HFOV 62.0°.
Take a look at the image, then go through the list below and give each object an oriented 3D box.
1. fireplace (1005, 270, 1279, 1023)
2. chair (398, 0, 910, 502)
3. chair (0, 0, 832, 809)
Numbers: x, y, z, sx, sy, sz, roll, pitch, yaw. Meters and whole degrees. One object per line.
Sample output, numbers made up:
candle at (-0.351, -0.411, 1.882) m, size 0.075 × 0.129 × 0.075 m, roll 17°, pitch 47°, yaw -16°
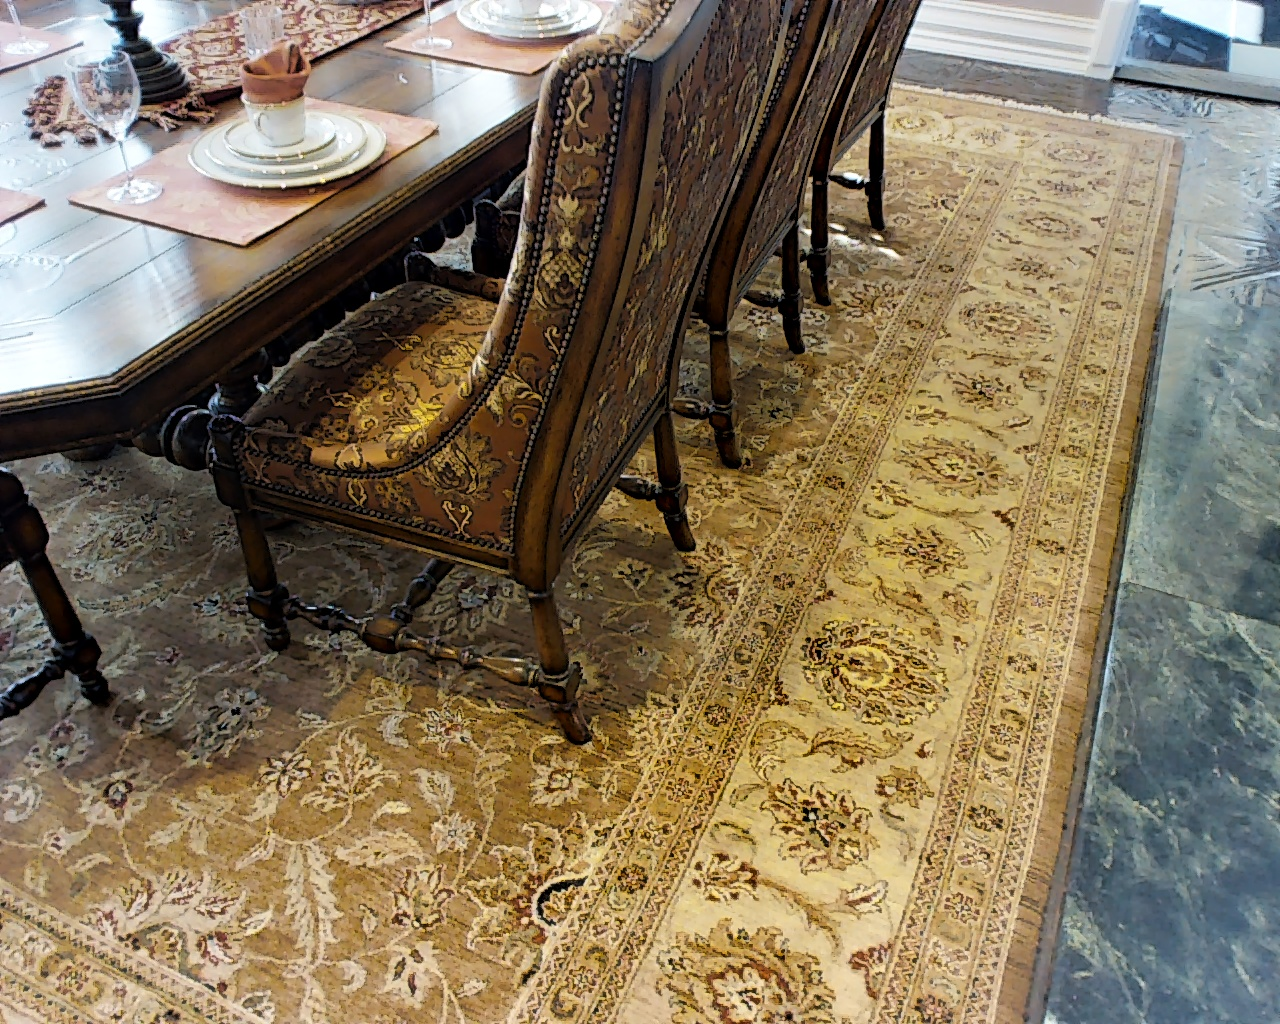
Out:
fireplace at (1.330, 0.280, 1.870) m, size 1.050 × 0.090 × 2.560 m, roll 17°, pitch 43°, yaw 17°
chair at (0.060, -0.790, 2.190) m, size 0.760 × 1.200 × 0.710 m, roll 17°, pitch 43°, yaw 17°
chair at (-0.250, -0.320, 1.640) m, size 0.800 × 1.190 × 0.740 m, roll 17°, pitch 43°, yaw 17°
